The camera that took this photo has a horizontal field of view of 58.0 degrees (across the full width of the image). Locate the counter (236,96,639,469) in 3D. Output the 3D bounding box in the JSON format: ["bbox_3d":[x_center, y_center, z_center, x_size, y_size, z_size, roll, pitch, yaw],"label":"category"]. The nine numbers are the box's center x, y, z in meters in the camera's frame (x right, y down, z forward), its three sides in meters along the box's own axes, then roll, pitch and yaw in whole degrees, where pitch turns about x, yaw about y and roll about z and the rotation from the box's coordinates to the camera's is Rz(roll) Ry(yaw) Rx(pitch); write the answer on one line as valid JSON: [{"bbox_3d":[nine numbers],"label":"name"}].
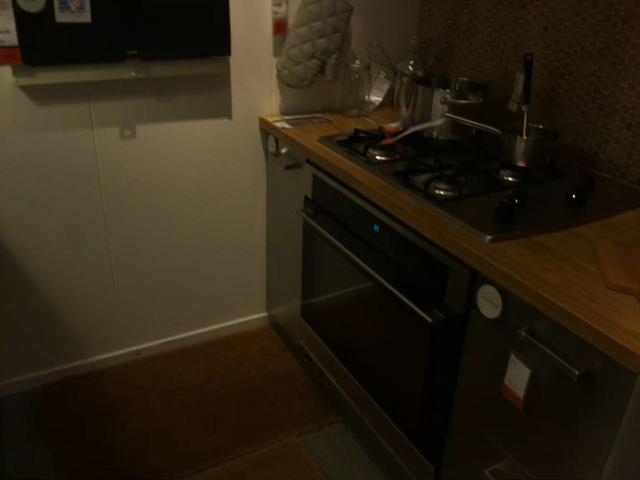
[{"bbox_3d":[0.390,-0.100,1.550,0.660,0.250,1.500,-12,29,-29],"label":"counter"}]

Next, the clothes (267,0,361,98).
[{"bbox_3d":[-0.020,-0.660,1.890,0.230,0.340,0.110,-2,23,-34],"label":"clothes"}]
